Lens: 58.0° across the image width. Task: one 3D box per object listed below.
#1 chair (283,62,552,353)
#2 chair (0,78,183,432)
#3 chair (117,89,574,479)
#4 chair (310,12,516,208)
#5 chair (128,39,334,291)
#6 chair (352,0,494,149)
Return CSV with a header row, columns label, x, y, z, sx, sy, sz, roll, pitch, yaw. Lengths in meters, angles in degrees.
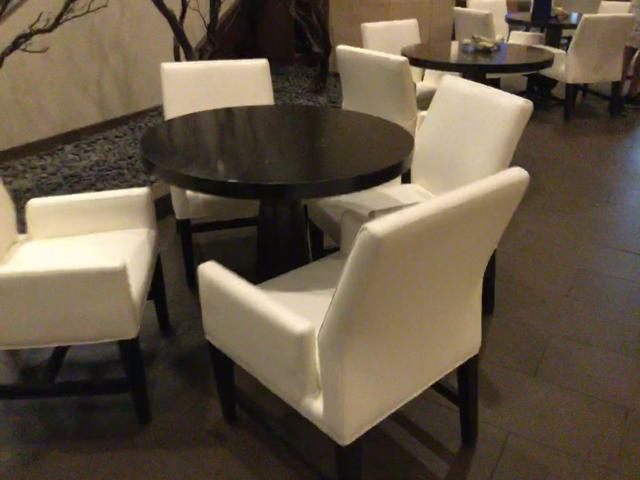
label,x,y,z,sx,sy,sz,roll,pitch,yaw
chair,0.330,-0.170,2.260,0.710,0.820,0.640,-14,32,-20
chair,-0.870,0.030,1.780,0.690,0.850,0.640,-5,30,-4
chair,0.070,0.160,1.590,0.780,0.860,0.760,-27,38,-36
chair,0.510,-0.790,3.310,0.800,0.810,0.760,25,39,39
chair,-0.400,-0.380,2.610,0.680,0.830,0.720,-13,31,-18
chair,0.670,-1.210,4.000,0.560,0.870,0.760,-18,33,-25
